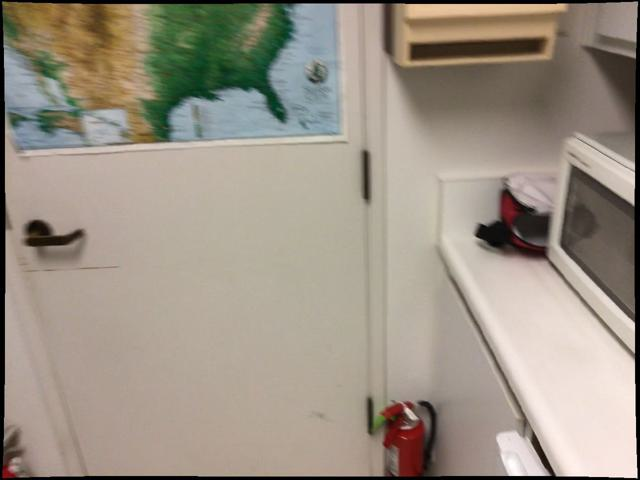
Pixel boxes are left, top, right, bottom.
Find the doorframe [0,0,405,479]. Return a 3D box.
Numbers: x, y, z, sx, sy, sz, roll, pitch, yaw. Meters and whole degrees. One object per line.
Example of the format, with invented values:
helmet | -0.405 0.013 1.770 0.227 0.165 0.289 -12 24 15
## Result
doorframe | -0.330 -0.120 1.430 1.049 2.092 0.080 -5 25 0
